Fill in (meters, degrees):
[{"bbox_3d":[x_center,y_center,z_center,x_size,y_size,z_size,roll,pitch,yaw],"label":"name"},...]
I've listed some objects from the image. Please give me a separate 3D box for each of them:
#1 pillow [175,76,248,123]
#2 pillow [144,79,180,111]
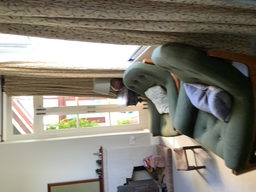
[{"bbox_3d":[0.630,0.000,1.700,0.520,0.260,0.250,-139,48,-70],"label":"pillow"},{"bbox_3d":[0.400,0.010,2.600,0.520,0.240,0.330,156,114,-74],"label":"pillow"}]
